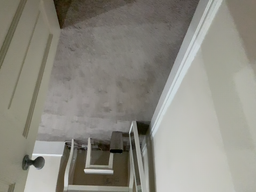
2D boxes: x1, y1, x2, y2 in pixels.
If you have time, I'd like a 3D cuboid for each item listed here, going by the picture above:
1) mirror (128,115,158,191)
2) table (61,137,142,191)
[{"bbox_3d":[0.140,1.080,2.200,0.220,1.680,0.460,4,156,-8],"label":"mirror"},{"bbox_3d":[-0.360,1.050,3.090,1.040,0.710,0.480,4,149,-7],"label":"table"}]
